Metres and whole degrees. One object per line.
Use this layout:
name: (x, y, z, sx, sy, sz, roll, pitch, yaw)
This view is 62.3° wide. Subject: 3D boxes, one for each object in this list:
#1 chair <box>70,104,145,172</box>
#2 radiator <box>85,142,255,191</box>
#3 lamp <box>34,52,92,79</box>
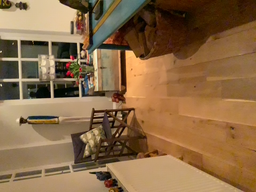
chair: (-0.320, 0.550, 2.920, 0.570, 0.840, 0.620, -114, 29, -42)
radiator: (0.190, 0.580, 1.560, 1.120, 0.810, 0.140, -177, 84, -69)
lamp: (-1.000, -0.460, 3.280, 0.340, 0.810, 0.380, -173, 81, -69)
